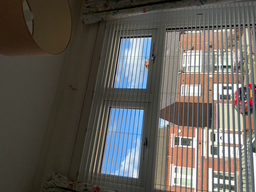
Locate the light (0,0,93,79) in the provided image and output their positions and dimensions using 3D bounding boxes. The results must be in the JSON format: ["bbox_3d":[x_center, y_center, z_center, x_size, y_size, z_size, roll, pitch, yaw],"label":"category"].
[{"bbox_3d":[-0.510,-0.370,0.960,0.550,0.380,0.420,6,-24,7],"label":"light"}]
